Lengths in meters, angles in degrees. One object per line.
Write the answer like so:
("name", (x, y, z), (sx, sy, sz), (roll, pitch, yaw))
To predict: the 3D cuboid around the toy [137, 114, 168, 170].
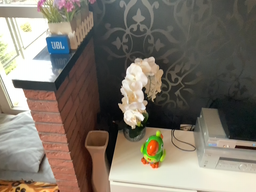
("toy", (0.130, 0.250, 1.160), (0.140, 0.200, 0.210), (4, 37, 4))
